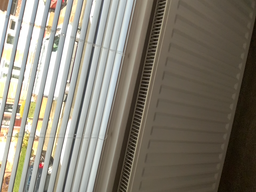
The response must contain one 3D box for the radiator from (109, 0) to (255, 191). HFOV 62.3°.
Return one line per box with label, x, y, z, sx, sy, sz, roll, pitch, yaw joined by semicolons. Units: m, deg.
radiator;0.390;-0.160;0.970;0.150;0.820;1.190;8;88;53
